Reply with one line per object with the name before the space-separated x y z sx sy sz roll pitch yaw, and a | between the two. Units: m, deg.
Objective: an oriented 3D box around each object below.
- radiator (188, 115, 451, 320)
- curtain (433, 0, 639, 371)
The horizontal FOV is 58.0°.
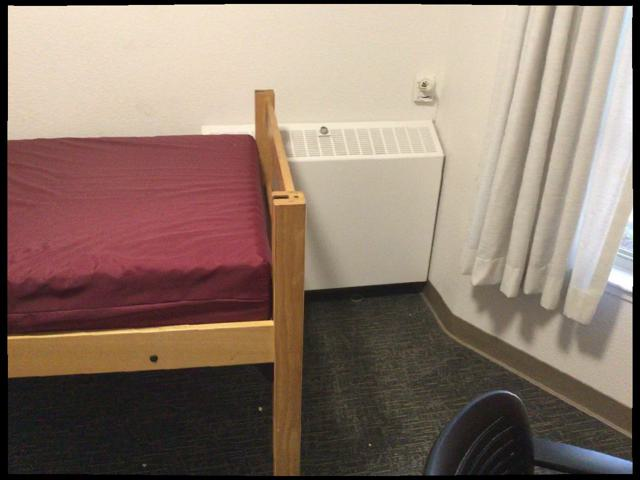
radiator | -0.010 -0.090 2.350 0.968 0.761 0.200 -4 29 -11
curtain | 0.749 -0.421 1.620 0.529 1.512 0.520 -4 29 -11
